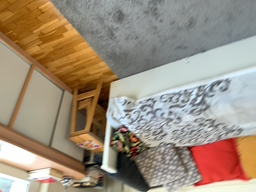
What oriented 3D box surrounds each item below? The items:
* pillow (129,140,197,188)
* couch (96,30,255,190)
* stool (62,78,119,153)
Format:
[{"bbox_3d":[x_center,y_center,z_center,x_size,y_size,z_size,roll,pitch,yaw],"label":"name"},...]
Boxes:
[{"bbox_3d":[0.320,0.650,1.970,0.520,0.280,0.360,-15,142,21],"label":"pillow"},{"bbox_3d":[0.920,0.150,1.710,2.100,0.800,0.930,-16,142,23],"label":"couch"},{"bbox_3d":[-0.330,0.200,2.070,0.310,0.560,0.410,-16,142,23],"label":"stool"}]
